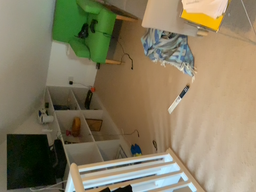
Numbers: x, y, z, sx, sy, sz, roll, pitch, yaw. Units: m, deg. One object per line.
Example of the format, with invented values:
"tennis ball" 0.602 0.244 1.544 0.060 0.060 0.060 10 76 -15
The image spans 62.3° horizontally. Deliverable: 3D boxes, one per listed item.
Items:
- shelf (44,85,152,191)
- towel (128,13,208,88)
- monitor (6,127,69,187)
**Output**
"shelf" -0.590 0.550 2.960 2.130 0.790 0.390 50 131 47
"towel" 0.320 -0.480 2.080 0.880 0.160 0.450 47 128 49
"monitor" -0.990 0.610 2.320 0.760 0.550 0.040 56 135 49
